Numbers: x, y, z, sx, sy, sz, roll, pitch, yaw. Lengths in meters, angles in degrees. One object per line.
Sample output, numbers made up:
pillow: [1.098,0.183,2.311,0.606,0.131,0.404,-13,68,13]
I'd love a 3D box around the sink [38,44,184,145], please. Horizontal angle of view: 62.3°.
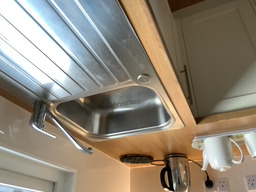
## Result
sink: [-0.050,0.040,1.000,0.520,0.200,0.410,-13,146,20]
